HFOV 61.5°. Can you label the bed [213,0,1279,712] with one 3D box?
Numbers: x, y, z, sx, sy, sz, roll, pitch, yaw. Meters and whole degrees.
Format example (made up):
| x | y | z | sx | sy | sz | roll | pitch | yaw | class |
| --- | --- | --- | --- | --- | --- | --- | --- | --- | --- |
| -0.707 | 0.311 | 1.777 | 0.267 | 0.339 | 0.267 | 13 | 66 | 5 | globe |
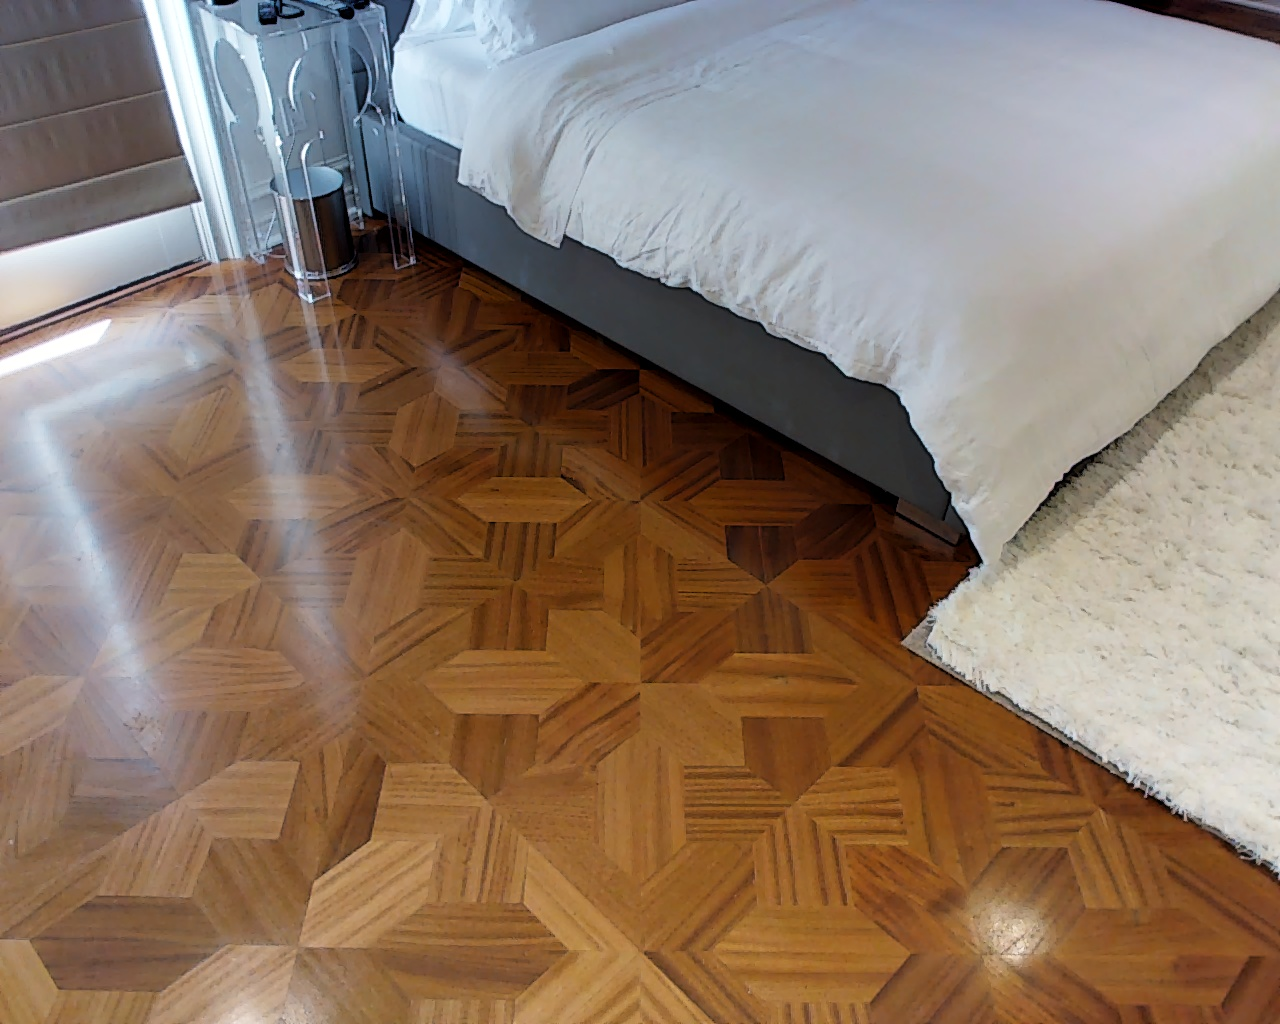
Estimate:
| x | y | z | sx | sy | sz | roll | pitch | yaw | class |
| --- | --- | --- | --- | --- | --- | --- | --- | --- | --- |
| 0.670 | -1.420 | 2.840 | 2.560 | 1.620 | 2.530 | 33 | 50 | 30 | bed |
